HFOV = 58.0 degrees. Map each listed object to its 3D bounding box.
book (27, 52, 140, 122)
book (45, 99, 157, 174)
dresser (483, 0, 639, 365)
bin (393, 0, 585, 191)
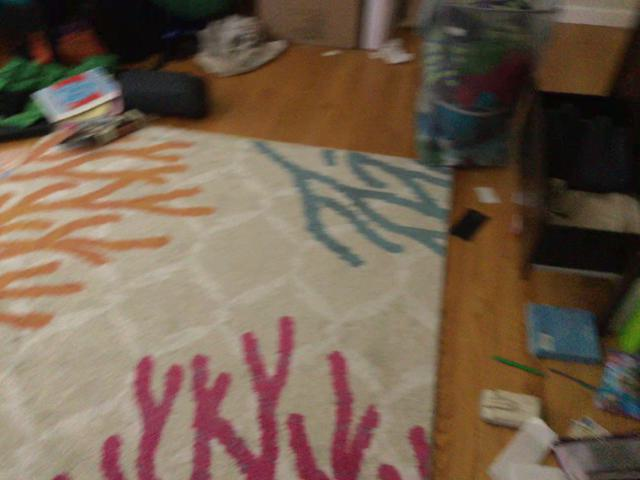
[{"bbox_3d":[-0.990,-0.650,2.430,0.340,0.080,0.280,-33,55,-31],"label":"book"},{"bbox_3d":[-0.840,-0.410,2.240,0.220,0.070,0.340,27,50,23],"label":"book"},{"bbox_3d":[0.920,-0.370,1.460,0.720,1.090,0.900,8,45,5],"label":"dresser"},{"bbox_3d":[0.530,-0.580,1.990,0.450,0.660,0.410,8,45,5],"label":"bin"}]
